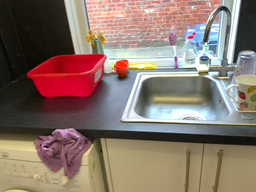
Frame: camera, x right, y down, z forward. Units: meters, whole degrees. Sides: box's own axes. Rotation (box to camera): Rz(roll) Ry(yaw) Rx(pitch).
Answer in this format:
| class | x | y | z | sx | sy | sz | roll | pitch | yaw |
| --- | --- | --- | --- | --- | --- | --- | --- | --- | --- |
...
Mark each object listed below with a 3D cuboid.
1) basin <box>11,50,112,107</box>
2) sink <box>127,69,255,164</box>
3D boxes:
| class | x | y | z | sx | sy | sz | roll | pitch | yaw |
| --- | --- | --- | --- | --- | --- | --- | --- | --- | --- |
| basin | -0.310 | -0.110 | 1.120 | 0.360 | 0.160 | 0.380 | 1 | 28 | 11 |
| sink | 0.270 | 0.060 | 1.040 | 0.470 | 0.210 | 0.490 | 0 | 28 | 9 |
